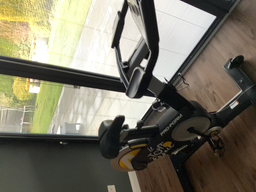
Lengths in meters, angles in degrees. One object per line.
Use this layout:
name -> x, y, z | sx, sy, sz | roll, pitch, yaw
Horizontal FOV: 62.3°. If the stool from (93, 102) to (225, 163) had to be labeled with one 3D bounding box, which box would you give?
stool -> 0.240, 0.290, 1.550 | 0.300, 0.910, 0.260 | -55, 38, 40
